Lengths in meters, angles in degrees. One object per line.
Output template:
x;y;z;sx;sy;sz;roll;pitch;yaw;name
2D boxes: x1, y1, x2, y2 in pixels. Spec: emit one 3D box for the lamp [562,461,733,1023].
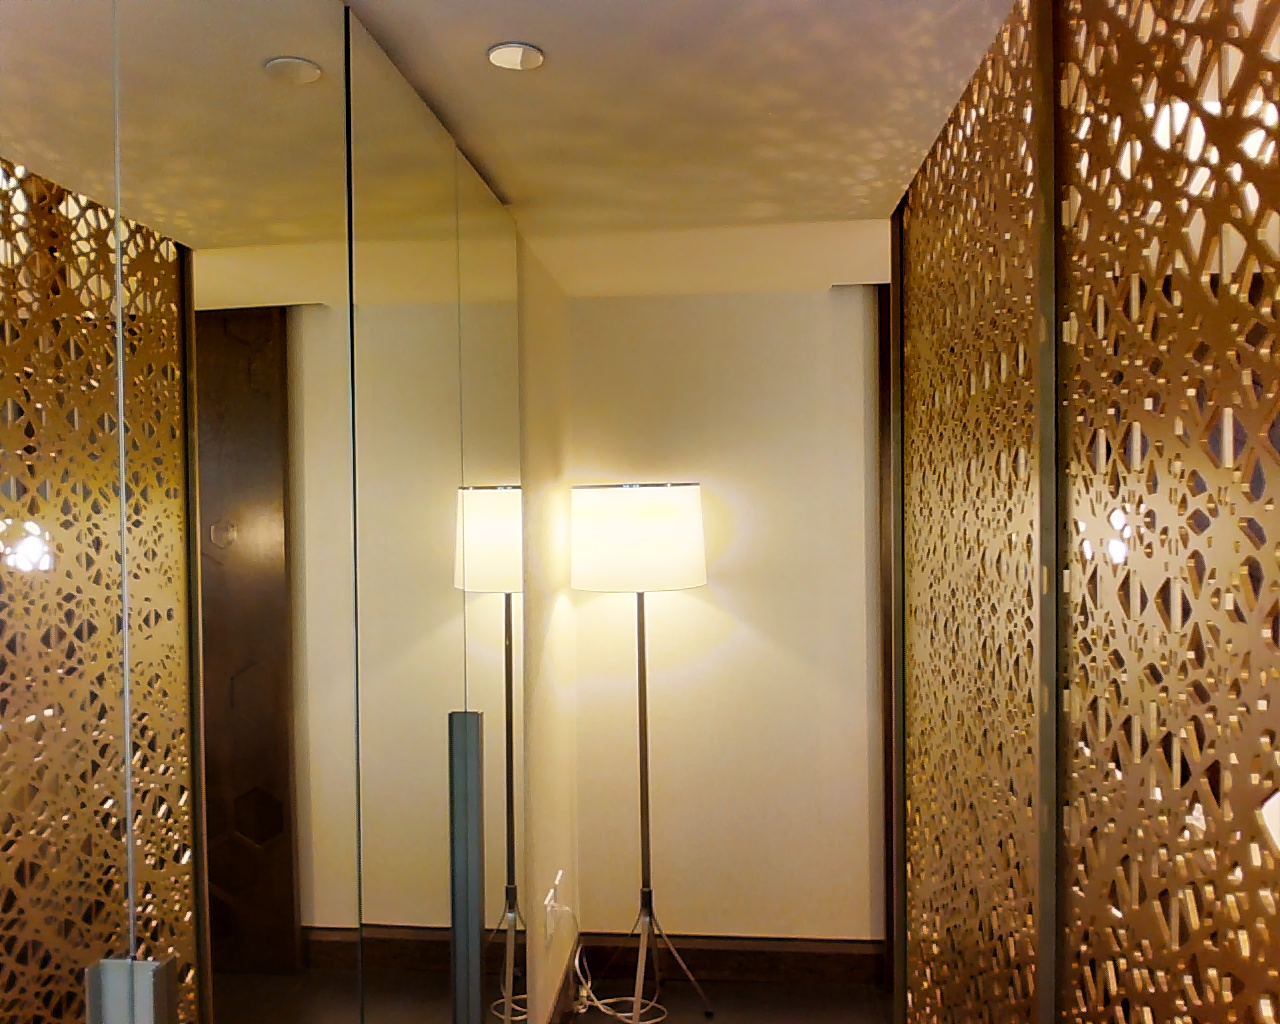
0.040;0.650;3.280;0.460;1.580;0.460;-1;0;6;lamp
